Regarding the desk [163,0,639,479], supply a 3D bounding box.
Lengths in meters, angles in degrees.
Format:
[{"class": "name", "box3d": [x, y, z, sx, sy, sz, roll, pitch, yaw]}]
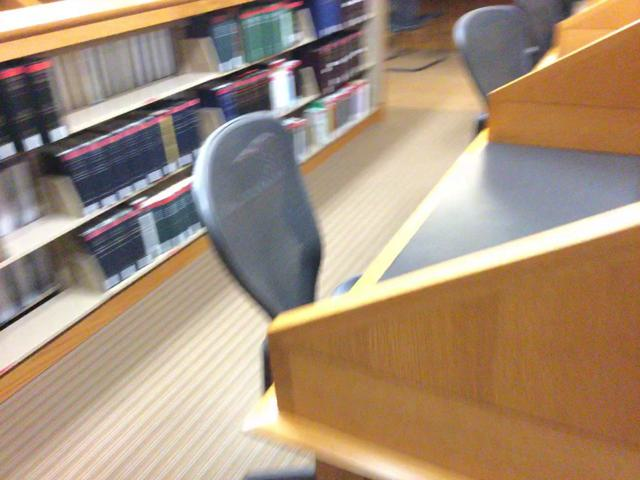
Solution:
[{"class": "desk", "box3d": [0.500, 0.160, 1.180, 0.770, 1.220, 1.240, 14, 33, 26]}]
